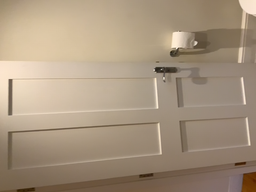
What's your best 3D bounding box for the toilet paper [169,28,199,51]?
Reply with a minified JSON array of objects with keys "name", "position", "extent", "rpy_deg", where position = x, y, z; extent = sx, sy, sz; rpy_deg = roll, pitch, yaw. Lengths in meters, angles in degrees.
[{"name":"toilet paper","position":[0.410,-0.410,1.560],"extent":[0.120,0.170,0.140],"rpy_deg":[-155,64,-73]}]
